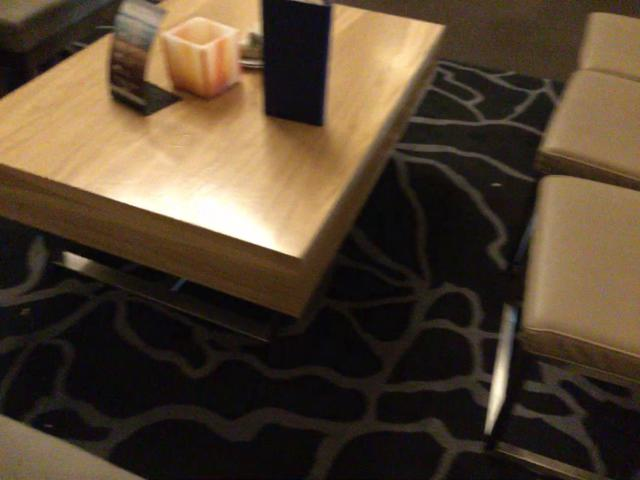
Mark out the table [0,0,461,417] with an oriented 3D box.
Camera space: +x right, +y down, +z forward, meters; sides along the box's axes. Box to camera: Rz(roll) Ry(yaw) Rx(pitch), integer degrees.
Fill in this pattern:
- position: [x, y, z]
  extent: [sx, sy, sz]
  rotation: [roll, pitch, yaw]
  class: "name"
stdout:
- position: [-0.270, -0.350, 1.730]
  extent: [1.060, 0.460, 1.380]
  rotation: [16, 45, 13]
  class: "table"
